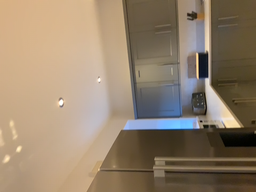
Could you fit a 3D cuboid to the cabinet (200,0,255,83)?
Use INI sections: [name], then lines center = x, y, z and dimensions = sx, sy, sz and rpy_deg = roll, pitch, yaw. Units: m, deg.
[cabinet]
center = 1.520, -0.960, 2.990
dimensions = 0.620, 0.880, 1.400
rpy_deg = -57, -37, -71
